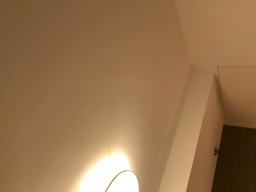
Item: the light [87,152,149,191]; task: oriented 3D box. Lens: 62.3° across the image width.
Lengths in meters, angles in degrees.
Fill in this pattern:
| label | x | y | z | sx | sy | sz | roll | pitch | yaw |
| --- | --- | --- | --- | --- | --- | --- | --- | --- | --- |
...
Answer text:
| label | x | y | z | sx | sy | sz | roll | pitch | yaw |
| --- | --- | --- | --- | --- | --- | --- | --- | --- | --- |
| light | -0.050 | 0.500 | 1.050 | 0.350 | 0.110 | 0.410 | 21 | 76 | -56 |
